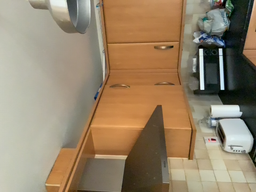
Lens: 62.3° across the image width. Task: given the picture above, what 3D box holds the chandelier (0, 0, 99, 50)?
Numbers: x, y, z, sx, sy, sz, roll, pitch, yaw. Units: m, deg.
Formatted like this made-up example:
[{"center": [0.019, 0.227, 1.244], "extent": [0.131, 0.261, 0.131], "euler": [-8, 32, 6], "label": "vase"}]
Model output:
[{"center": [-0.340, -0.360, 0.770], "extent": [0.330, 0.380, 0.270], "euler": [-82, 170, -56], "label": "chandelier"}]

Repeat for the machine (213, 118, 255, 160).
[{"center": [0.820, 0.330, 1.660], "extent": [0.270, 0.200, 0.190], "euler": [-81, 169, -57], "label": "machine"}]
